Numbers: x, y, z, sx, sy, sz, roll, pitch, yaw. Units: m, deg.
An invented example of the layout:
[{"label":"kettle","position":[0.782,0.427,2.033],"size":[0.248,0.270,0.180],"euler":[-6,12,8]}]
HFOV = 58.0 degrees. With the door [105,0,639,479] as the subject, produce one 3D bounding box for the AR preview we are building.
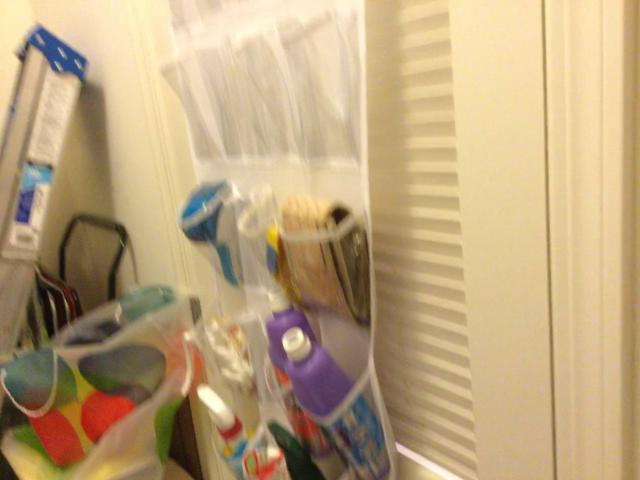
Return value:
[{"label":"door","position":[-0.010,0.230,0.940],"size":[0.070,2.110,1.100],"euler":[-16,16,-36]}]
